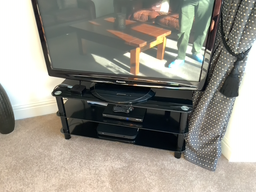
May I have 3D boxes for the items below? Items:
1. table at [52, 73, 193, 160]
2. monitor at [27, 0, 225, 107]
[{"bbox_3d":[-0.020,0.140,1.830,1.050,0.400,0.470,7,33,11],"label":"table"},{"bbox_3d":[-0.060,-0.370,1.470,1.230,0.850,0.090,7,33,11],"label":"monitor"}]
